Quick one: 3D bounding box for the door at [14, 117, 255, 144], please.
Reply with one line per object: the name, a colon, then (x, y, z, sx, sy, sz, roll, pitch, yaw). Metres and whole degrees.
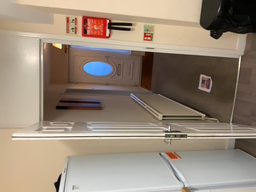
door: (0.270, 0.260, 1.750, 0.760, 2.000, 0.080, 177, 95, -78)

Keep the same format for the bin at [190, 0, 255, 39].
bin: (0.920, -0.700, 1.690, 0.330, 0.690, 0.410, -133, 46, -73)
